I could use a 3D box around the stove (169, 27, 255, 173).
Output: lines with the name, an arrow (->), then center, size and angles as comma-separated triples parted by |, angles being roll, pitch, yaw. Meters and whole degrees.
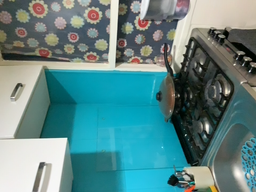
stove -> 0.450, 0.010, 1.230 | 0.590, 0.150, 0.600 | -99, 13, -51
